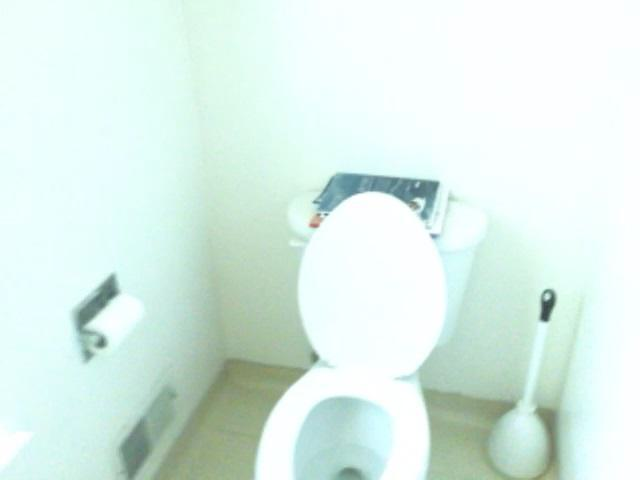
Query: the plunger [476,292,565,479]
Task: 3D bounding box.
[{"bbox_3d":[0.530,0.400,1.560,0.180,0.470,0.200,3,29,16],"label":"plunger"}]
